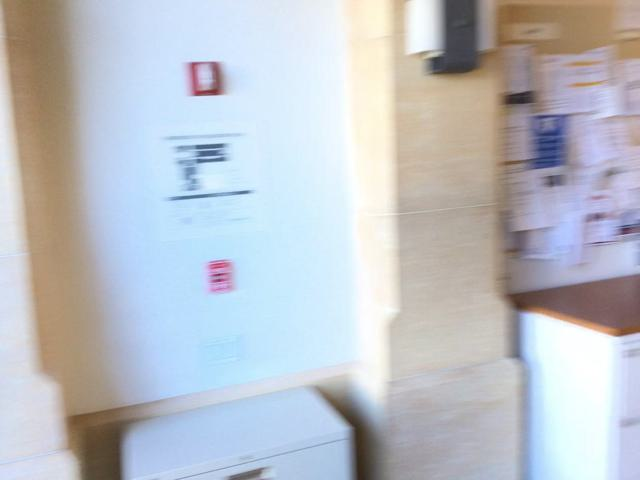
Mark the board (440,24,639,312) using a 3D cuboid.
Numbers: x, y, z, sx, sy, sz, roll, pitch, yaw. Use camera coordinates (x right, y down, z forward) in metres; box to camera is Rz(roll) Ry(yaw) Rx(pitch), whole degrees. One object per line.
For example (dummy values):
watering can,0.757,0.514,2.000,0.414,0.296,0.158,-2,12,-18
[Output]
board,1.810,-0.440,2.900,2.440,1.210,0.200,-7,6,-14
